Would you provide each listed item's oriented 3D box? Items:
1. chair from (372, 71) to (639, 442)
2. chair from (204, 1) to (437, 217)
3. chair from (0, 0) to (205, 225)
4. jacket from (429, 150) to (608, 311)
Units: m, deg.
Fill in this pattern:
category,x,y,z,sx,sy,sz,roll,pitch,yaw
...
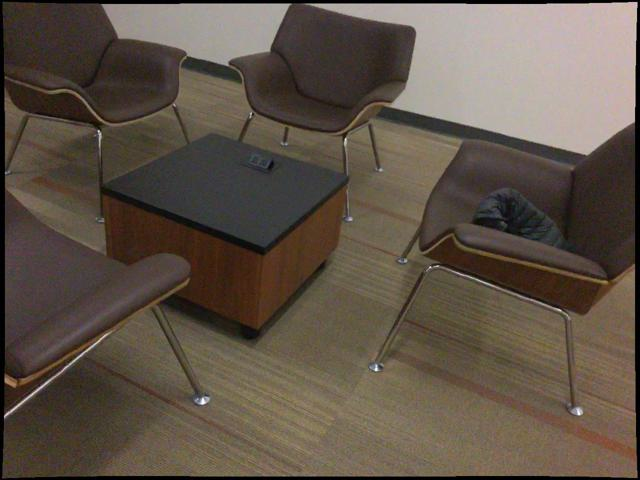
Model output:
category,x,y,z,sx,sy,sz,roll,pitch,yaw
chair,0.688,-0.020,1.950,0.778,0.751,0.890,13,32,9
chair,0.000,-0.732,3.000,0.878,0.731,0.810,19,34,19
chair,-1.117,-0.692,2.710,0.779,0.761,0.840,20,34,20
jacket,0.638,-0.050,1.850,0.439,0.270,0.360,19,34,18
